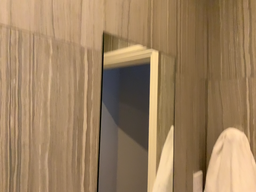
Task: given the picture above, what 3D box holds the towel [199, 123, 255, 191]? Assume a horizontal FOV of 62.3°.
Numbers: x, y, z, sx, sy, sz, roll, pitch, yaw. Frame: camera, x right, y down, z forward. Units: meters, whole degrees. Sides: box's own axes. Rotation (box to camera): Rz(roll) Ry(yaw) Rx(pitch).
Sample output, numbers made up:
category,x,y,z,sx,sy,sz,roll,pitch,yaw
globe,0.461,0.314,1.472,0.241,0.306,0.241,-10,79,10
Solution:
category,x,y,z,sx,sy,sz,roll,pitch,yaw
towel,0.470,0.420,0.940,0.270,0.570,0.110,-1,-4,44
